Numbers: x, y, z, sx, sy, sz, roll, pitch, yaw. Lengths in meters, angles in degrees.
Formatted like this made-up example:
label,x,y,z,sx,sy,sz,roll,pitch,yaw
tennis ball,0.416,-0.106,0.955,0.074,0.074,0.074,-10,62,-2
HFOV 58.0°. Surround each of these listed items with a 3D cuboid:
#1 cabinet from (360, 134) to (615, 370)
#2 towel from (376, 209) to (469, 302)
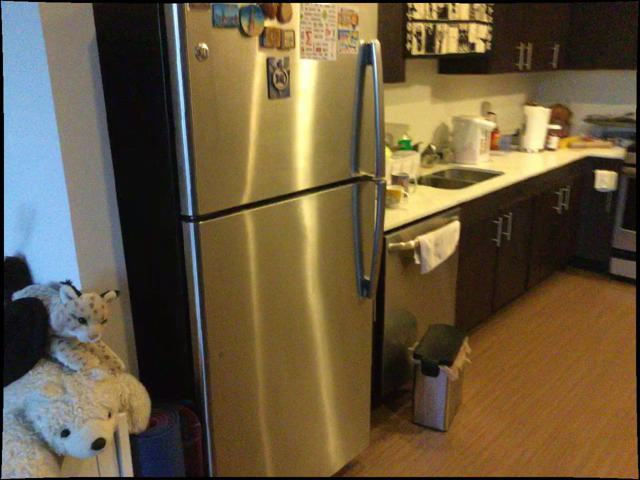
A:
label,x,y,z,sx,sy,sz,roll,pitch,yaw
cabinet,1.018,-0.060,3.310,0.579,0.822,1.718,19,27,40
towel,0.419,0.050,2.310,0.080,0.230,0.519,18,26,40
